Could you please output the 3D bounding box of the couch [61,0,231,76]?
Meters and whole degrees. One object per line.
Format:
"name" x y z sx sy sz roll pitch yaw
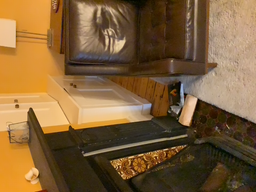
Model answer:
"couch" 0.080 -0.500 1.570 0.890 0.880 0.690 7 98 56
